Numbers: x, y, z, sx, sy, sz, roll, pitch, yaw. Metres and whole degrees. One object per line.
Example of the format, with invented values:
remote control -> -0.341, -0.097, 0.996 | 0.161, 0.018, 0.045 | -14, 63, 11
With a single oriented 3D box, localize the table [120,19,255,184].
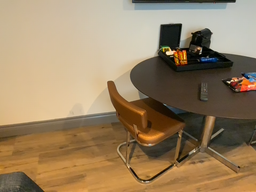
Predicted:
table -> 0.720, -0.110, 1.670 | 1.360, 0.740, 1.020 | -5, 32, -14
